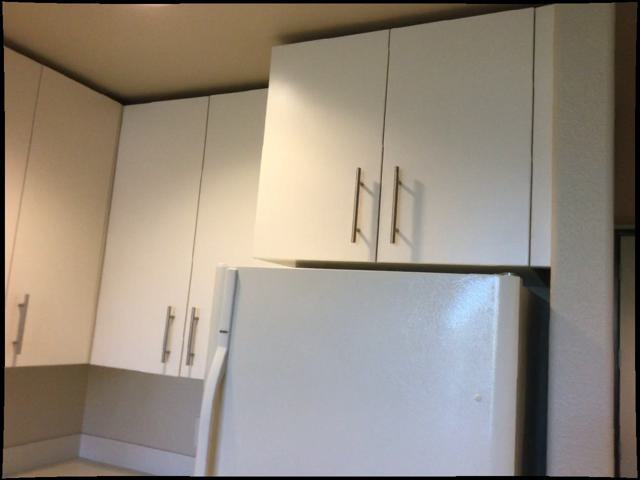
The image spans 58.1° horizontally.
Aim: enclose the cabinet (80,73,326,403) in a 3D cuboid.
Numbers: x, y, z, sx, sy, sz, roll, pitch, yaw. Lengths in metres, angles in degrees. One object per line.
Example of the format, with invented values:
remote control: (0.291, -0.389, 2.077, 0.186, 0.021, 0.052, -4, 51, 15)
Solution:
cabinet: (-0.459, -0.020, 2.180, 0.918, 1.103, 0.150, 1, -6, 26)
